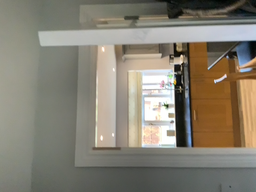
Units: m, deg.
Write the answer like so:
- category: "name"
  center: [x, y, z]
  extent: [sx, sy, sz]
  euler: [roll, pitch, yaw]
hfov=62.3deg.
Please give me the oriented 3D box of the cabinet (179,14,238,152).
- category: "cabinet"
  center: [1.530, -0.240, 4.180]
  extent: [0.670, 0.830, 2.510]
  euler: [61, -151, -84]
